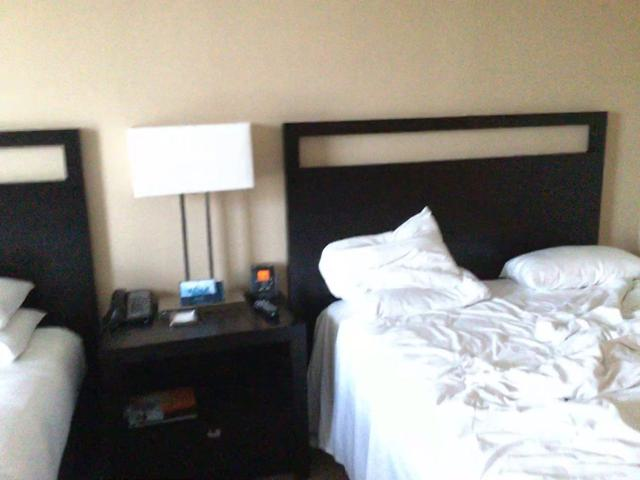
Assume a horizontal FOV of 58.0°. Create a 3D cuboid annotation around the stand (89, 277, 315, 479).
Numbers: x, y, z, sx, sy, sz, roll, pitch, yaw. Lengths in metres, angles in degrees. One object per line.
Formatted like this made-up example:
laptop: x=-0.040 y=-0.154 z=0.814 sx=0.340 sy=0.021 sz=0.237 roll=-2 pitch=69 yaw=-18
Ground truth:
stand: x=-0.480 y=0.610 z=2.410 sx=0.780 sy=0.730 sz=0.520 roll=-5 pitch=12 yaw=-16
